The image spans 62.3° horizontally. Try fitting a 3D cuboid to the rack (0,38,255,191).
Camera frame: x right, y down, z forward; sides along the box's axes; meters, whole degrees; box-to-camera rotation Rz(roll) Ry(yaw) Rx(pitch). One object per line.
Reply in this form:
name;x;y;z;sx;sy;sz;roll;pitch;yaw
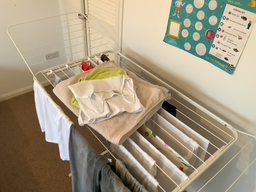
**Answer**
rack;-0.090;0.360;1.270;0.740;0.940;1.010;-26;48;-32
